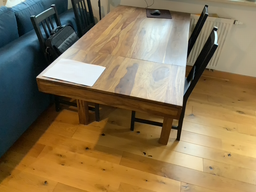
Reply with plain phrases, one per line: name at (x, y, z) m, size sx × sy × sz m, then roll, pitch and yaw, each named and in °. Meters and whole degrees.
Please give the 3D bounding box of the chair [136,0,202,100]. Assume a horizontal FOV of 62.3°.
chair at (0.420, -0.480, 2.250) m, size 0.490 × 0.840 × 0.480 m, roll 13°, pitch 39°, yaw 11°

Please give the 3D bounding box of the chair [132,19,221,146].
chair at (0.360, -0.100, 1.750) m, size 0.490 × 0.840 × 0.480 m, roll 13°, pitch 39°, yaw 11°
